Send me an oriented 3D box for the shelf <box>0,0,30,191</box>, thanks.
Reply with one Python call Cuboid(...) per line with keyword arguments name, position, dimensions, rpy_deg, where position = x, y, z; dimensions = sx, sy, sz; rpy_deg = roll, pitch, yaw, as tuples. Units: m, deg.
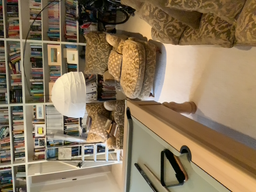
Cuboid(name="shelf", position=(-2.290, 0.000, 3.950), dimensions=(0.310, 0.660, 4.350), rpy_deg=(-161, 70, -67))
